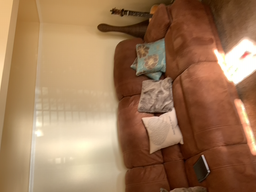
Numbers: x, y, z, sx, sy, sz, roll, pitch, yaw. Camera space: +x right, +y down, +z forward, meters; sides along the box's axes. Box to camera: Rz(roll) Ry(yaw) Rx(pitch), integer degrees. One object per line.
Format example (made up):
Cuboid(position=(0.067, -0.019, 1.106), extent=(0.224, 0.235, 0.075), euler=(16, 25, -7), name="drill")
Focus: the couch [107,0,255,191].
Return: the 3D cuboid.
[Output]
Cuboid(position=(0.450, 0.310, 2.310), extent=(1.220, 1.000, 2.680), euler=(120, 146, -62), name="couch")
